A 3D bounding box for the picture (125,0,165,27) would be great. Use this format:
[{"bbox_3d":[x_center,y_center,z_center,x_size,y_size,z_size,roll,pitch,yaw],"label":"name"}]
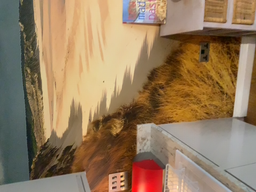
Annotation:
[{"bbox_3d":[0.100,-0.550,1.280,0.090,0.220,0.230,-152,61,-66],"label":"picture"}]
